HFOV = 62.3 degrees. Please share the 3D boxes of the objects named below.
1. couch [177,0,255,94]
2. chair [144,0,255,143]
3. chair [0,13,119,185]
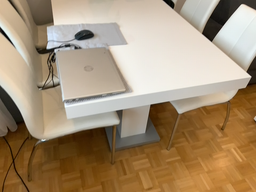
[{"bbox_3d":[1.270,-0.720,2.350,0.930,0.840,0.980,-8,44,-15],"label":"couch"},{"bbox_3d":[0.530,-0.150,1.570,0.600,0.920,0.420,-8,44,-15],"label":"chair"},{"bbox_3d":[-0.410,0.050,1.260,0.580,0.900,0.390,-11,45,-18],"label":"chair"}]
